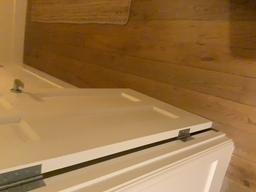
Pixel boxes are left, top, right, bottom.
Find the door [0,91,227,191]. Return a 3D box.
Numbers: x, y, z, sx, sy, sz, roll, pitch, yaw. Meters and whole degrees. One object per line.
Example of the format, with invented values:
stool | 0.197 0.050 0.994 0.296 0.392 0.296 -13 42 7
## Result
door | -0.420 0.110 0.750 0.760 1.960 0.040 23 107 43
